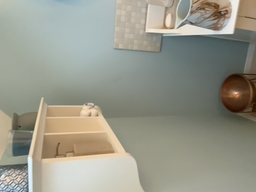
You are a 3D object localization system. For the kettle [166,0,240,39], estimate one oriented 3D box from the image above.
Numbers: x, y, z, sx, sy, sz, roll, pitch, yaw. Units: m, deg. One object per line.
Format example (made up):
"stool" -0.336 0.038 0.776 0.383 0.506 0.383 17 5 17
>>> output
"kettle" 0.290 -0.320 0.840 0.150 0.210 0.160 -142 55 -66
